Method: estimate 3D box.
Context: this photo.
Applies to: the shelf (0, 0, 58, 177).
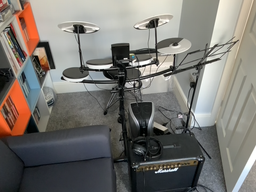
[{"bbox_3d":[-0.940,-0.250,1.670,0.300,1.360,1.100,-4,39,-4],"label":"shelf"}]
